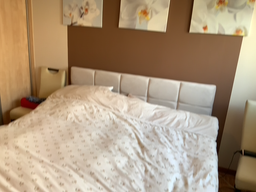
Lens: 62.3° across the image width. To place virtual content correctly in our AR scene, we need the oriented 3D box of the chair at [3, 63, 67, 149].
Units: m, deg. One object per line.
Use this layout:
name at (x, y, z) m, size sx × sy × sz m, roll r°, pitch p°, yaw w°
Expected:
chair at (-1.200, 0.100, 2.860) m, size 0.460 × 0.960 × 0.590 m, roll 10°, pitch 18°, yaw 18°

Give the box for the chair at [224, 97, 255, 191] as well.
chair at (1.220, 0.580, 1.930) m, size 0.430 × 0.930 × 0.700 m, roll 10°, pitch 18°, yaw 18°
